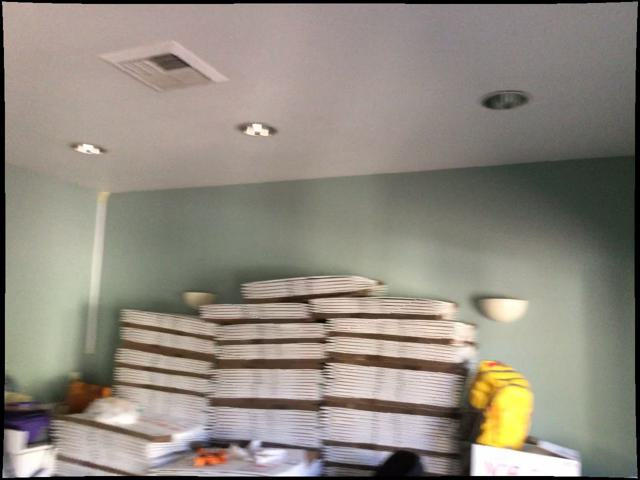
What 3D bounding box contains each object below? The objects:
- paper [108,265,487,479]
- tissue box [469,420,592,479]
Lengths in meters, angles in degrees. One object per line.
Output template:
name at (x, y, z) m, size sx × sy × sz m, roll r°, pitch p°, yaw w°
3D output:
paper at (-0.230, 1.131, 3.550) m, size 2.338 × 1.902 × 0.500 m, roll -1°, pitch -7°, yaw 27°
tissue box at (1.019, 1.131, 2.750) m, size 0.470 × 0.380 × 0.630 m, roll -1°, pitch -7°, yaw 27°
